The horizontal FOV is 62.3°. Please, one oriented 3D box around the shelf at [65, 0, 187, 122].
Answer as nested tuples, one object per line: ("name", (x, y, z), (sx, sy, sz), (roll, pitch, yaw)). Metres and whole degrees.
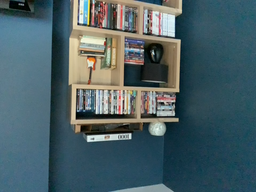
("shelf", (0.000, -0.690, 1.810), (0.950, 1.770, 0.340), (2, 180, -22))
